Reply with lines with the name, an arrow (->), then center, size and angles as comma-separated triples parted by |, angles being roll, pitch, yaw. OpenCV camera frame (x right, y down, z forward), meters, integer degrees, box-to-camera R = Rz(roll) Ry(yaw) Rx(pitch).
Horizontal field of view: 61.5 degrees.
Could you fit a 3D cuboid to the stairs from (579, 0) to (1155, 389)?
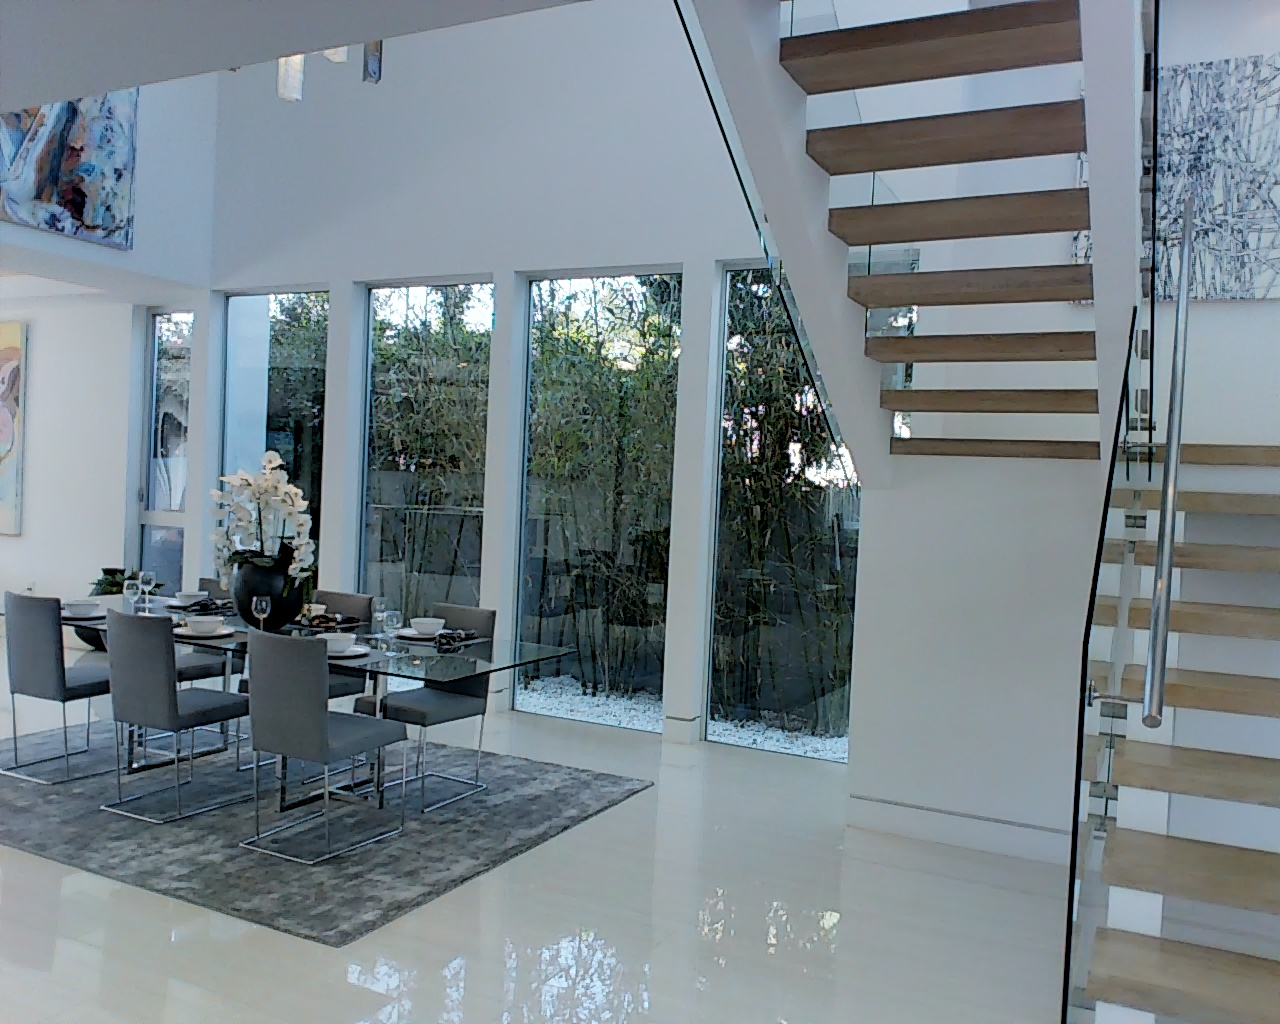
stairs -> 1.050, -1.070, 3.680 | 1.160, 0.470, 2.900 | 39, 17, 21
